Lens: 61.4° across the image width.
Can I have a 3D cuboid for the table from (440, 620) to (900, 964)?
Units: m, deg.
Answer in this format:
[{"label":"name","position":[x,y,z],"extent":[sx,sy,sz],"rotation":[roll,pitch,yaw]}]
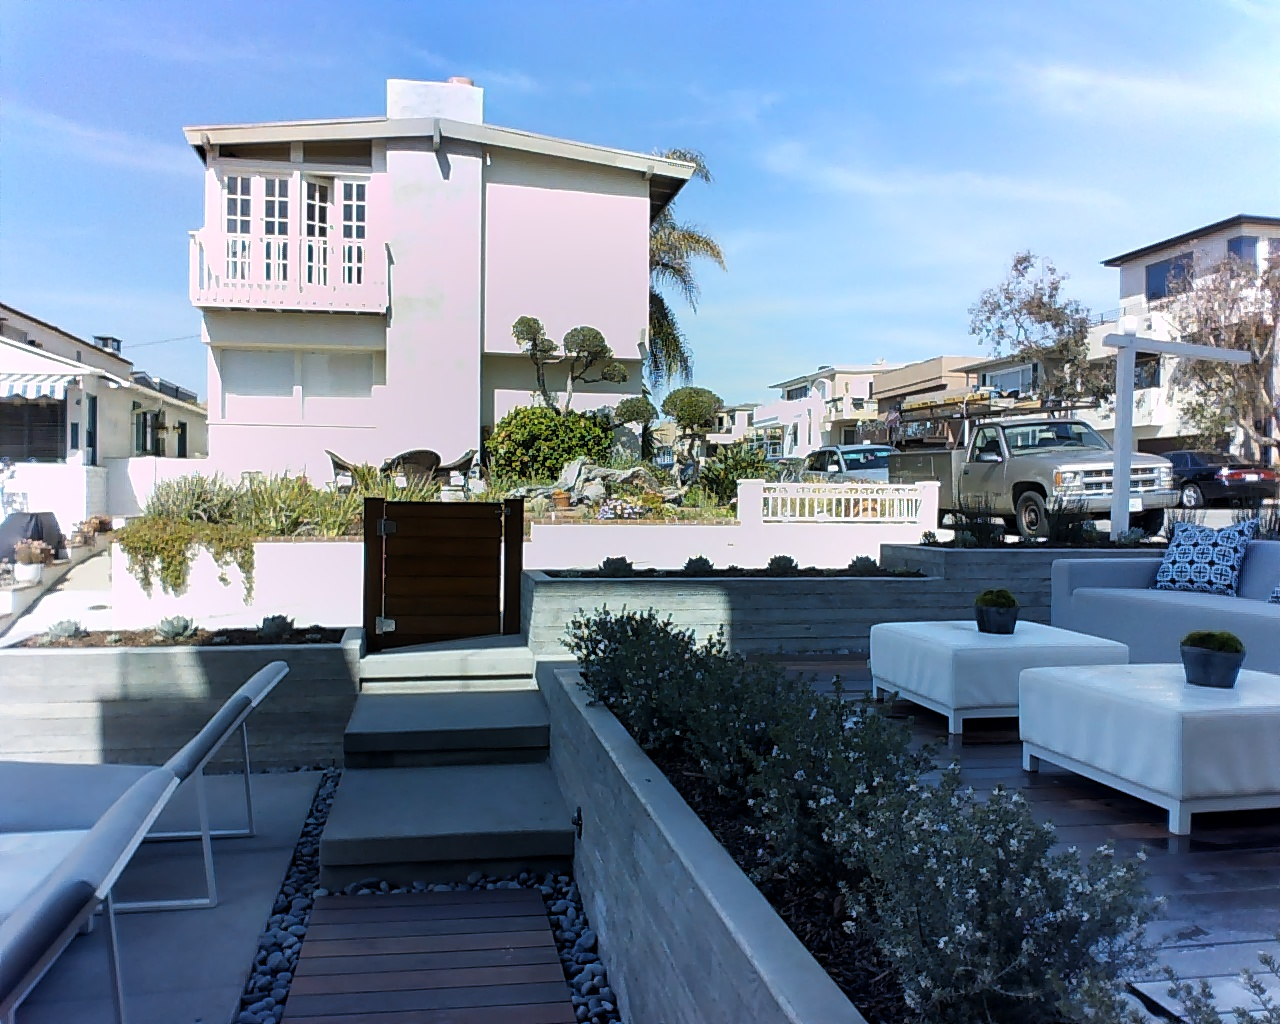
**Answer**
[{"label":"table","position":[0.000,0.620,2.710],"extent":[0.980,0.590,0.900],"rotation":[1,1,-10]}]
